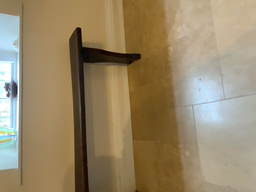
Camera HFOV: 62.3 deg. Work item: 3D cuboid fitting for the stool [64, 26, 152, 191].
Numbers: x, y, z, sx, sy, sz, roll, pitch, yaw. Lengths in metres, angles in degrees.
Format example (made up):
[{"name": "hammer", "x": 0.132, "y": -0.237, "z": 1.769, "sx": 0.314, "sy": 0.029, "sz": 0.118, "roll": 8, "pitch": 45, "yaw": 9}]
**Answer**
[{"name": "stool", "x": -0.150, "y": 0.240, "z": 1.510, "sx": 0.250, "sy": 0.520, "sz": 1.350, "roll": -17, "pitch": 74, "yaw": 59}]
